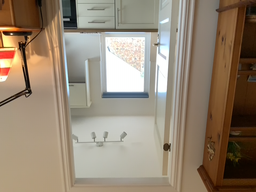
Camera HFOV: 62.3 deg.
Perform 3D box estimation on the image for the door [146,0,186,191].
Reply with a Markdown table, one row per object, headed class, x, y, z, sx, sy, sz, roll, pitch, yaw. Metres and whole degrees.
| class | x | y | z | sx | sy | sz | roll | pitch | yaw |
| --- | --- | --- | --- | --- | --- | --- | --- | --- | --- |
| door | 0.270 | -0.390 | 1.760 | 0.110 | 2.250 | 0.990 | 0 | -163 | 0 |
